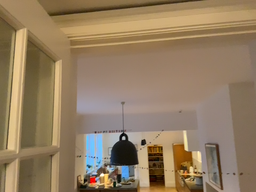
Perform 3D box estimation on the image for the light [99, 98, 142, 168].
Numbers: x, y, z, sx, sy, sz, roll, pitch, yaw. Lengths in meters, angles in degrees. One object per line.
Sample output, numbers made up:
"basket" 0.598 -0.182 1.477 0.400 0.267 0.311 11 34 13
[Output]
"light" -0.110 0.690 4.050 0.440 0.630 1.150 11 -98 12
